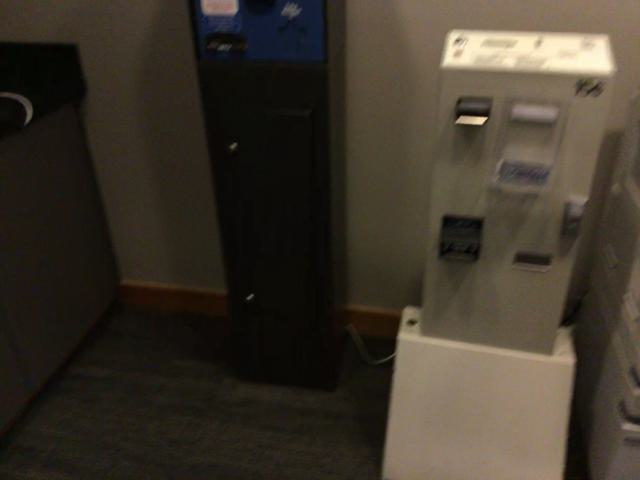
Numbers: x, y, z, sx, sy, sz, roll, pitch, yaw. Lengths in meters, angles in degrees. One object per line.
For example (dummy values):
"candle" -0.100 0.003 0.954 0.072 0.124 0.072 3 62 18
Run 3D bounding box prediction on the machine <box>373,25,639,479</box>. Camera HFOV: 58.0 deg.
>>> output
"machine" 0.380 0.100 1.330 0.470 1.070 0.350 4 29 12

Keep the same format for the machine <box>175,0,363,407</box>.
"machine" -0.090 -0.220 1.520 0.350 1.430 0.300 4 29 12
